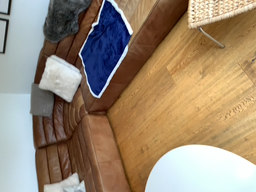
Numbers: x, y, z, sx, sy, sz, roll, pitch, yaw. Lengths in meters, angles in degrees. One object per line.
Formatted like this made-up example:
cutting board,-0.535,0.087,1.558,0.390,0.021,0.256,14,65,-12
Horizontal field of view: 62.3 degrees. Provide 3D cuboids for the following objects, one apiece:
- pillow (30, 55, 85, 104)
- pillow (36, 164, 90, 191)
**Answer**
pillow,-0.950,-0.210,2.920,0.550,0.530,0.190,75,173,-50
pillow,-0.770,1.230,2.580,0.560,0.590,0.180,67,-173,27
